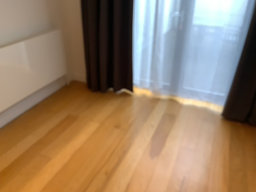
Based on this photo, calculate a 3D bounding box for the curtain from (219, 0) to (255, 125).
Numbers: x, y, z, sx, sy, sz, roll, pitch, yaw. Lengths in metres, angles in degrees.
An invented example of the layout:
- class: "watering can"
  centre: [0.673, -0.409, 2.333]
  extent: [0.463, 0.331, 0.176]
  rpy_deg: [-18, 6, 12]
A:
- class: "curtain"
  centre: [1.330, -0.790, 1.970]
  extent: [0.390, 2.430, 0.140]
  rpy_deg: [12, 31, 19]

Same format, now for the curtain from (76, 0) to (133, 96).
- class: "curtain"
  centre: [-0.290, -1.200, 2.630]
  extent: [0.660, 2.460, 0.280]
  rpy_deg: [12, 31, 19]

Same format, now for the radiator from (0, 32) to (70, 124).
- class: "radiator"
  centre: [-1.140, -0.290, 2.500]
  extent: [0.150, 0.660, 1.210]
  rpy_deg: [11, 31, 17]
